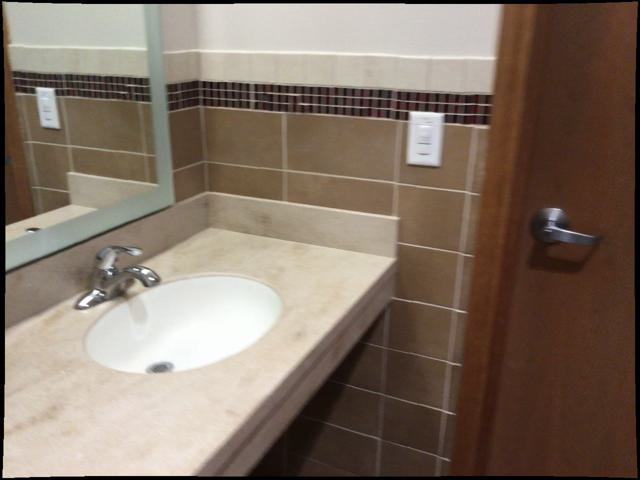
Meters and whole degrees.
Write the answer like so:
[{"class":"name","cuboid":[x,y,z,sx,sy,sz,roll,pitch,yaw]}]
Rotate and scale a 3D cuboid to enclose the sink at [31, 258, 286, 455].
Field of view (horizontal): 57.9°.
[{"class":"sink","cuboid":[-0.310,0.210,1.220,0.320,0.160,0.410,10,23,23]}]
